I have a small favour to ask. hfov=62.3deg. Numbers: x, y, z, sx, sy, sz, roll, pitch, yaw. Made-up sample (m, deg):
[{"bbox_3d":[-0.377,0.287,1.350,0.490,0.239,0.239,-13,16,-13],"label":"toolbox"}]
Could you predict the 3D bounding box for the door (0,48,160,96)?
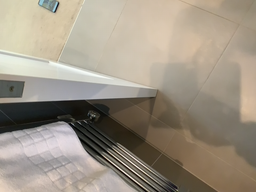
[{"bbox_3d":[-0.550,-0.120,0.340,0.780,1.980,0.050,15,96,20],"label":"door"}]
